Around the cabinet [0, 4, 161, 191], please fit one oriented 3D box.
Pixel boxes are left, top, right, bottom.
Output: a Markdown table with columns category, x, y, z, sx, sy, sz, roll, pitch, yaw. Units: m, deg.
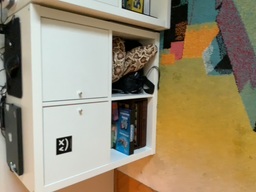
| category | x | y | z | sx | sy | sz | roll | pitch | yaw |
| --- | --- | --- | --- | --- | --- | --- | --- | --- | --- |
| cabinet | -0.230 | 0.010 | 1.210 | 0.410 | 0.760 | 0.770 | 8 | 100 | 46 |
